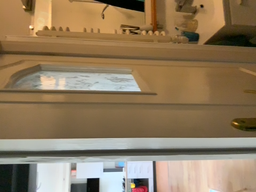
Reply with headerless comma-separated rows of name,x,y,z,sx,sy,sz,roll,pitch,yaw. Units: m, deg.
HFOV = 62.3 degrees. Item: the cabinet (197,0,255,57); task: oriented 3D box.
cabinet,0.730,-0.670,1.530,0.390,0.280,0.650,125,146,-77
